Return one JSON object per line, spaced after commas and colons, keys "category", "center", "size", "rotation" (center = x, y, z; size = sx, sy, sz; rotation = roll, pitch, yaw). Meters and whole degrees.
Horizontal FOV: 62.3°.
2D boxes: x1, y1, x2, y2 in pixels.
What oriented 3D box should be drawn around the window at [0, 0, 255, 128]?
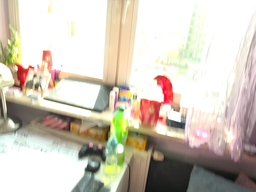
{"category": "window", "center": [-0.050, -0.690, 1.340], "size": [1.820, 1.530, 0.110], "rotation": [11, 21, 12]}
